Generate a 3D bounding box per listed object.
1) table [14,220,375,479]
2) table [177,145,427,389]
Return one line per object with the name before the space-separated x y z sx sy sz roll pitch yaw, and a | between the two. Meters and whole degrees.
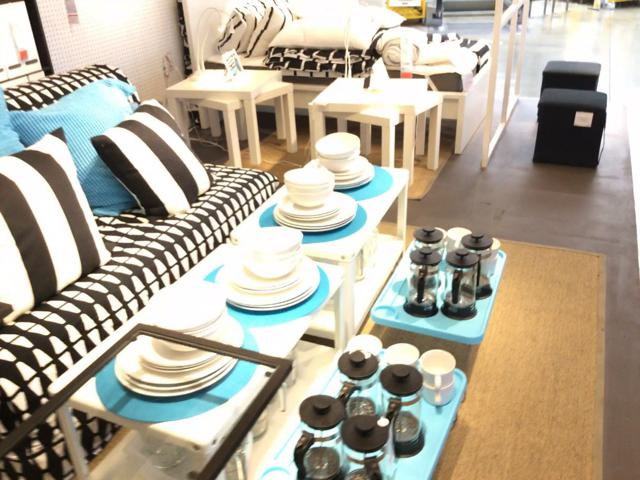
table | -0.240 0.370 1.560 0.490 0.560 0.760 4 28 26
table | 0.000 0.040 2.160 0.570 0.550 0.780 4 28 26
